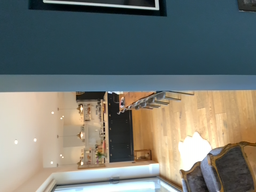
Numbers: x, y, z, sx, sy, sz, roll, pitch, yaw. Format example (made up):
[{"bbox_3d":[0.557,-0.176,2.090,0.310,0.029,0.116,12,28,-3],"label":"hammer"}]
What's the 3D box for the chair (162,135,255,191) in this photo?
[{"bbox_3d":[0.860,0.830,2.070,0.630,0.790,0.710,112,154,-63],"label":"chair"}]
